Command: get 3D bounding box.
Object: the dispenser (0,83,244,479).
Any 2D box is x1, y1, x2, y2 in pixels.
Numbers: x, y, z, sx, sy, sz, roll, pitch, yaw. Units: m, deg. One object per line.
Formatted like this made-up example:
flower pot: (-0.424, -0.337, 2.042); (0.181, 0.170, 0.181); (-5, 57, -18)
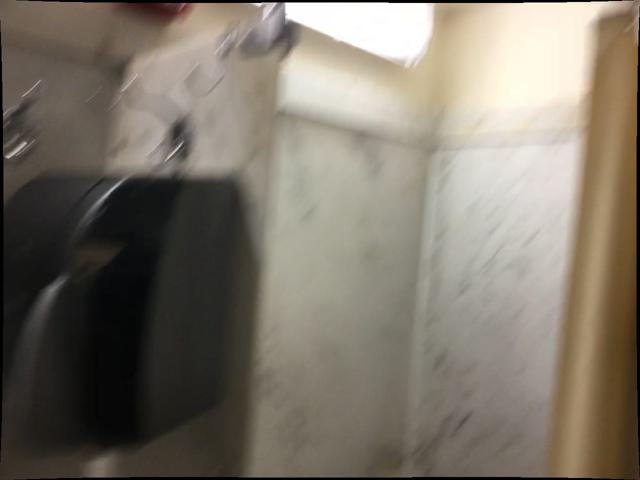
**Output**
dispenser: (-0.380, 0.040, 0.840); (0.400, 0.420, 0.330); (5, 2, 42)
